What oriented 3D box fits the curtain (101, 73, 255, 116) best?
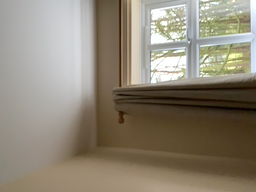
[{"bbox_3d":[0.500,-0.010,1.500,0.220,1.440,0.260,0,-90,-68],"label":"curtain"}]
